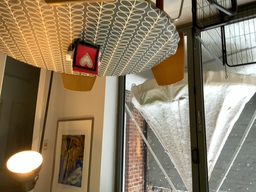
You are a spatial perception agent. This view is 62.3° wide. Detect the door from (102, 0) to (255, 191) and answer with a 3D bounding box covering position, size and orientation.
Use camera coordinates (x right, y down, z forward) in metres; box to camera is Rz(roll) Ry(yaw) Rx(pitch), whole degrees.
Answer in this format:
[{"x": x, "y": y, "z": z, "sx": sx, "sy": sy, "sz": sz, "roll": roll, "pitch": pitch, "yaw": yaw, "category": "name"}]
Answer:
[{"x": 1.080, "y": 0.190, "z": 1.900, "sx": 3.020, "sy": 2.270, "sz": 0.270, "roll": -6, "pitch": 166, "yaw": 31, "category": "door"}]
